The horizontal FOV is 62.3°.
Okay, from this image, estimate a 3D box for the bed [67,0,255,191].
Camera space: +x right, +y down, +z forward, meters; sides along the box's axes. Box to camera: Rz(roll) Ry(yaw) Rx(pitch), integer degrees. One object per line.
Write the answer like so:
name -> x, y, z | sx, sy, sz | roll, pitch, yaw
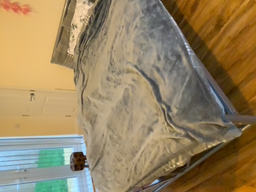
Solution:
bed -> 0.010, -0.180, 2.130 | 1.690, 0.620, 2.030 | -54, 42, 42
